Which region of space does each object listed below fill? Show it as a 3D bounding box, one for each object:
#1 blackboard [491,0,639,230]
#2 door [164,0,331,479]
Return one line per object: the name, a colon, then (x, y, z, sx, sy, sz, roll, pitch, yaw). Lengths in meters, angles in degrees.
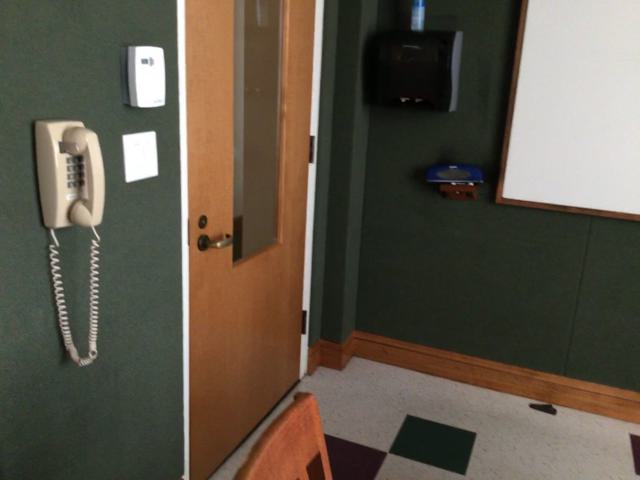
blackboard: (1.660, -0.640, 2.060, 1.890, 1.310, 0.120, 8, 15, 22)
door: (-0.210, -0.190, 2.130, 0.090, 2.260, 1.020, 8, 15, 20)
